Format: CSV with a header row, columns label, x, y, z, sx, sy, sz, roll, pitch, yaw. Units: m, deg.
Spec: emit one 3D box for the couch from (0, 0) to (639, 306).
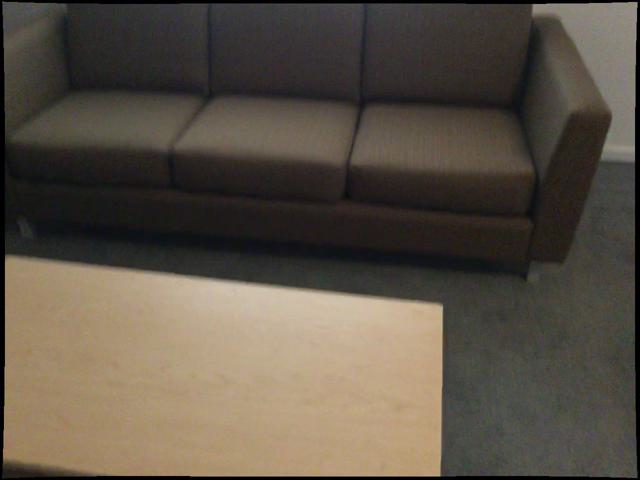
label,x,y,z,sx,sy,sz,roll,pitch,yaw
couch,-0.170,-0.461,2.080,2.015,0.832,0.891,4,33,9
